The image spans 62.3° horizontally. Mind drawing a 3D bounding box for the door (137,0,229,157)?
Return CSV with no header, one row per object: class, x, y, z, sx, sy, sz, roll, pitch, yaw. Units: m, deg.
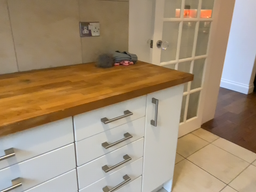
door,0.510,-0.550,1.820,0.880,2.150,0.140,-14,27,-34
